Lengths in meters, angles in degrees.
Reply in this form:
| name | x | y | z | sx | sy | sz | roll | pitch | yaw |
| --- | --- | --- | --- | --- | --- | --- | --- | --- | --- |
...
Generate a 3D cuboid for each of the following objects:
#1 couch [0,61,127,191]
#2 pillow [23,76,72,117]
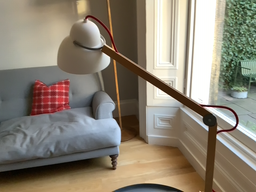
| name | x | y | z | sx | sy | sz | roll | pitch | yaw |
| --- | --- | --- | --- | --- | --- | --- | --- | --- | --- |
| couch | -1.220 | 0.210 | 1.870 | 2.230 | 0.720 | 1.080 | -6 | 18 | -10 |
| pillow | -0.770 | 0.010 | 2.060 | 0.390 | 0.340 | 0.170 | -6 | -6 | -9 |
